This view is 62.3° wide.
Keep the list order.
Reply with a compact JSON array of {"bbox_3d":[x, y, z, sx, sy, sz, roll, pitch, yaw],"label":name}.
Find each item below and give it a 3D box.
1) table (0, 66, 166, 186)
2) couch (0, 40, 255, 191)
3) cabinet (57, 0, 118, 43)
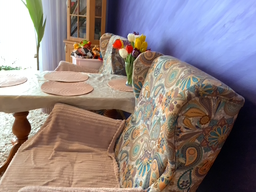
[{"bbox_3d":[-0.530,0.190,1.860,1.430,0.710,0.730,0,21,-16],"label":"table"},{"bbox_3d":[-0.170,0.310,1.150,0.990,1.030,0.840,1,21,-14],"label":"couch"},{"bbox_3d":[-0.640,-1.460,3.330,0.840,1.110,0.460,16,22,26],"label":"cabinet"}]
